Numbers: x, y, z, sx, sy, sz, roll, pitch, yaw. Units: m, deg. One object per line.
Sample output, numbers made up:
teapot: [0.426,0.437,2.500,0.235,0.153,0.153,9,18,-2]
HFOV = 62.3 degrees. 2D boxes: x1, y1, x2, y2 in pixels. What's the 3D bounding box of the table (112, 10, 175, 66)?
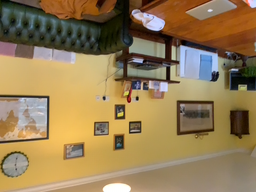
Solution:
table: [0.310,-1.030,4.040,1.090,0.720,0.570,2,177,-36]
